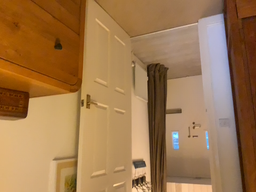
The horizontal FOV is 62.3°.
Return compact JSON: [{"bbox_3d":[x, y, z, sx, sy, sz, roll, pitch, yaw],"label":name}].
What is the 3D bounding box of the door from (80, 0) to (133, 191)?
[{"bbox_3d":[-0.160,0.140,2.050,0.060,1.930,0.800,-6,167,25],"label":"door"}]
